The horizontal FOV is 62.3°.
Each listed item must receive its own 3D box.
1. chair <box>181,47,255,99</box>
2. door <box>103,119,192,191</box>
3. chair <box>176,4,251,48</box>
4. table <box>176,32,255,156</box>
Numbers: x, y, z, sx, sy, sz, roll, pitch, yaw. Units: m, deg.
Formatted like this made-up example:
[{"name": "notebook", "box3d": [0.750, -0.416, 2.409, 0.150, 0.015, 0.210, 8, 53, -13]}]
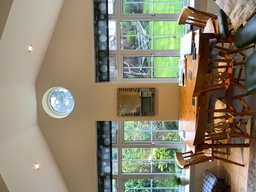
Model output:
[{"name": "chair", "box3d": [1.120, -0.270, 2.480, 0.430, 0.830, 0.430, -92, 2, -50]}, {"name": "door", "box3d": [0.340, 1.190, 3.760, 0.050, 1.540, 1.560, -100, 10, -84]}, {"name": "chair", "box3d": [1.120, -0.930, 2.870, 0.460, 0.810, 0.430, 123, 146, -88]}, {"name": "table", "box3d": [1.160, -0.050, 2.980, 0.780, 0.750, 1.530, -99, 8, -82]}]
